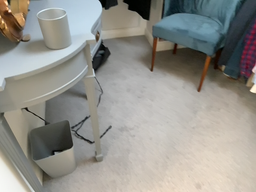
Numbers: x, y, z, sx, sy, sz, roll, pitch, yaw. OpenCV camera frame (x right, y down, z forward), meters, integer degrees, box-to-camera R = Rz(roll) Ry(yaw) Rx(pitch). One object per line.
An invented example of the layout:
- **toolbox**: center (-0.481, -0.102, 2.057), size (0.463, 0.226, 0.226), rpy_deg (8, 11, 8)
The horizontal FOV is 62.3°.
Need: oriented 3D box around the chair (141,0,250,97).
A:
- **chair**: center (0.490, -0.500, 1.620), size (0.540, 0.690, 0.520), rpy_deg (28, 49, 26)
